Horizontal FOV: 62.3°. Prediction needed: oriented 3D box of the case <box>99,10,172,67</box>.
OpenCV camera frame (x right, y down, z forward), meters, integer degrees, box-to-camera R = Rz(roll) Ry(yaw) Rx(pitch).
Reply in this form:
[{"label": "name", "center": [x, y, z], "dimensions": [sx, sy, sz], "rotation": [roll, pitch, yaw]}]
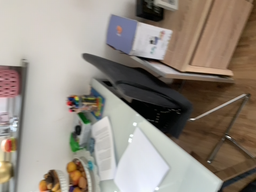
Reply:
[{"label": "case", "center": [0.030, -0.300, 1.110], "dimensions": [0.260, 0.230, 0.210], "rotation": [36, 118, 47]}]
